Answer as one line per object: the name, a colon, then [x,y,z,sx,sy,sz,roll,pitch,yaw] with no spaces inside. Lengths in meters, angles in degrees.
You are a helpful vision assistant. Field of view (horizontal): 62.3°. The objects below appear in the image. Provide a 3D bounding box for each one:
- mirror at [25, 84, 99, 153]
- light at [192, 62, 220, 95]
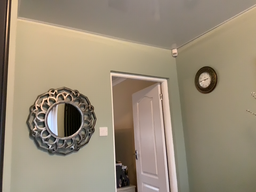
mirror: [-0.560,0.190,1.880,0.610,0.550,0.070,3,-12,-31]
light: [0.850,-0.180,2.330,0.060,0.290,0.300,2,-11,-27]
